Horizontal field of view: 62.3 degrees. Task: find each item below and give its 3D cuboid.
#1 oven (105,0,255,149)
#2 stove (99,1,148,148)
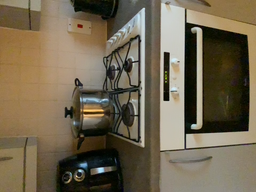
[{"bbox_3d":[0.400,-0.070,1.270,0.580,0.940,0.580,175,95,-66],"label":"oven"},{"bbox_3d":[-0.050,-0.080,1.090,0.550,0.040,0.580,176,95,-66],"label":"stove"}]
